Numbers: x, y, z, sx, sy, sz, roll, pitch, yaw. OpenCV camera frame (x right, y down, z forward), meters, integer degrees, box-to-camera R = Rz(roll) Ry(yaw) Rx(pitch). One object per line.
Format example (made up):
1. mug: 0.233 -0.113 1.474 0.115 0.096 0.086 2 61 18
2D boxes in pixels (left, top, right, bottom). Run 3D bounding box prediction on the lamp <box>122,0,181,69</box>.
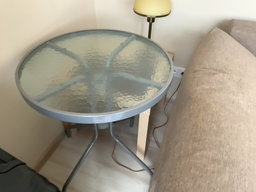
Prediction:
1. lamp: 0.130 -0.420 1.220 0.270 0.420 0.220 15 43 14
